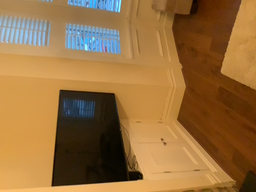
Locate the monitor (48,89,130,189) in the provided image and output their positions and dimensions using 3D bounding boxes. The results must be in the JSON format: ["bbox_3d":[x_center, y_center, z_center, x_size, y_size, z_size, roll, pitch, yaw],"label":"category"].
[{"bbox_3d":[-0.400,0.340,2.110,1.100,0.660,0.040,-104,24,-43],"label":"monitor"}]
